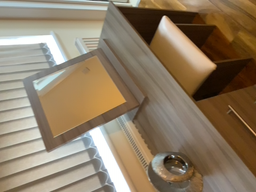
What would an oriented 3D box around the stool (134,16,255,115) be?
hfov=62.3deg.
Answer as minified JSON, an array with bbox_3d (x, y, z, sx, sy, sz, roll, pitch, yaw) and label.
[{"bbox_3d":[0.430,-0.220,1.390,0.450,0.540,0.370,57,141,29],"label":"stool"}]
